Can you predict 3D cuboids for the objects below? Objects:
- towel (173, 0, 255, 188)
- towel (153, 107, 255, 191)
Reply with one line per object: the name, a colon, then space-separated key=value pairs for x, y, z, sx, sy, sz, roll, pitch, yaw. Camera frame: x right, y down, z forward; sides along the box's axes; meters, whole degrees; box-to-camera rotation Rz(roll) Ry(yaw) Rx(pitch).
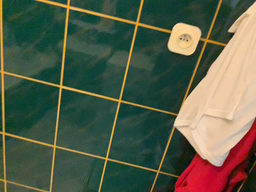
towel: x=0.330 y=-0.090 z=0.540 sx=0.140 sy=0.660 sz=0.190 roll=-1 pitch=29 yaw=-30
towel: x=0.240 y=0.310 z=0.740 sx=0.160 sy=0.510 sz=0.200 roll=1 pitch=28 yaw=-27
